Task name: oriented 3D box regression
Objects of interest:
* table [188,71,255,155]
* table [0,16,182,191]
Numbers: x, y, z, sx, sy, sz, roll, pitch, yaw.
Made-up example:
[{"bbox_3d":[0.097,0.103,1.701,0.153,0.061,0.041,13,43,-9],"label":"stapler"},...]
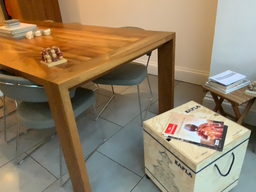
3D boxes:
[{"bbox_3d":[0.740,0.110,1.630,0.370,0.430,0.360,-23,34,-31],"label":"table"},{"bbox_3d":[-0.840,-0.230,2.070,2.410,0.770,1.030,20,37,36],"label":"table"}]
